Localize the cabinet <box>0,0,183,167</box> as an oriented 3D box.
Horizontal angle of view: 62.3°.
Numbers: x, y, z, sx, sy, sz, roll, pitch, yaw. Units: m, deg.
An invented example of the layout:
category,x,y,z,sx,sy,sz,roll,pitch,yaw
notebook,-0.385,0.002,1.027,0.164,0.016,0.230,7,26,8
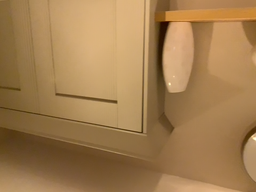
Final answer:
category,x,y,z,sx,sy,sz,roll,pitch,yaw
cabinet,-0.400,-0.250,1.210,1.290,0.880,0.410,7,-164,23
